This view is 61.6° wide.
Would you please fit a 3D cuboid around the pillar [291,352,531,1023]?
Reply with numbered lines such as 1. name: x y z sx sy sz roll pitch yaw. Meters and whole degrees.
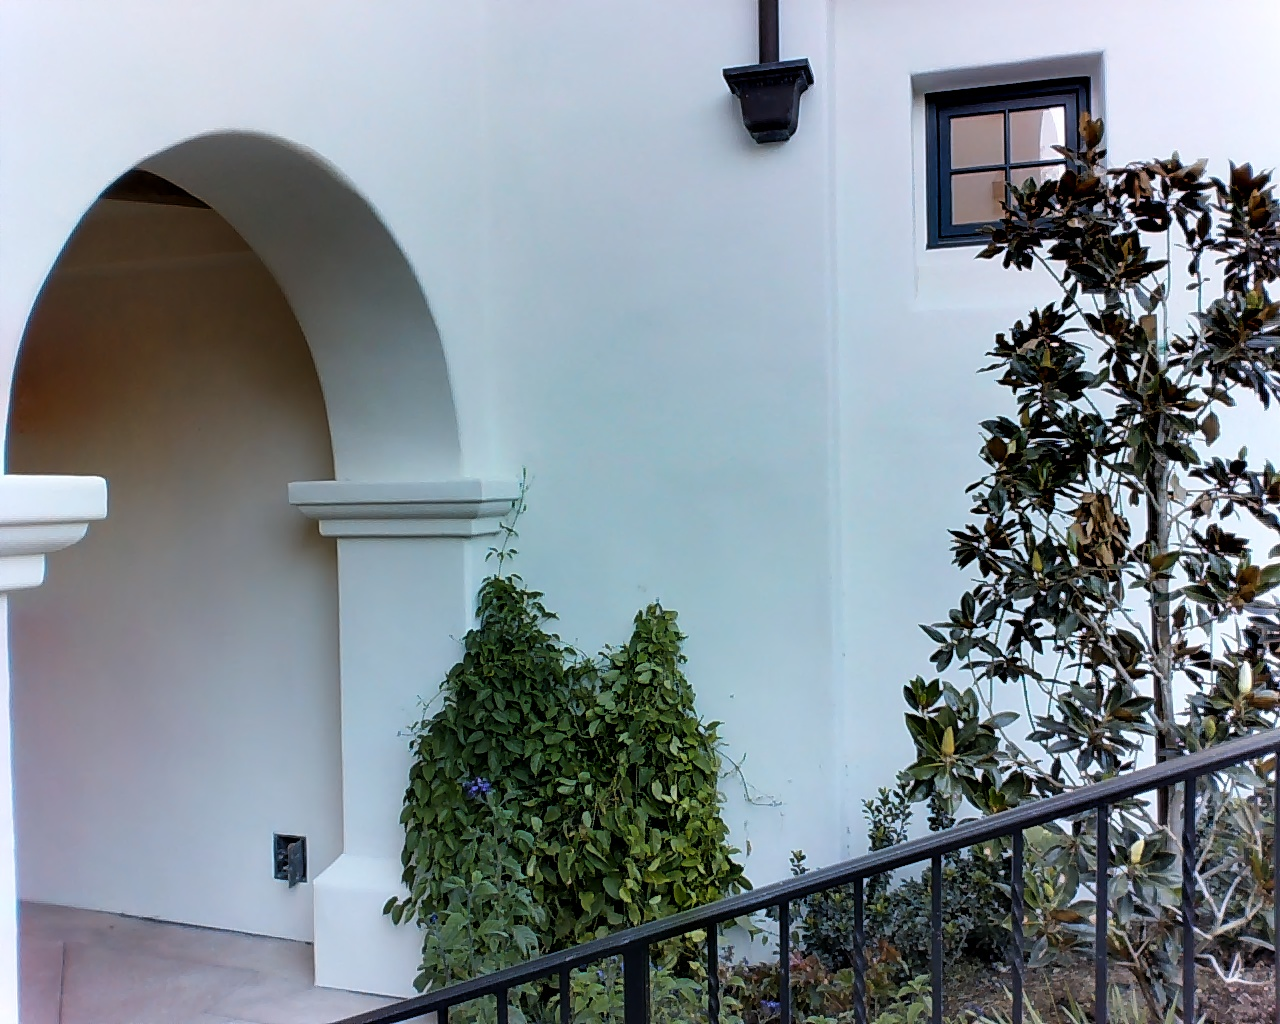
1. pillar: -0.960 0.700 4.540 0.890 2.661 0.400 0 1 16
